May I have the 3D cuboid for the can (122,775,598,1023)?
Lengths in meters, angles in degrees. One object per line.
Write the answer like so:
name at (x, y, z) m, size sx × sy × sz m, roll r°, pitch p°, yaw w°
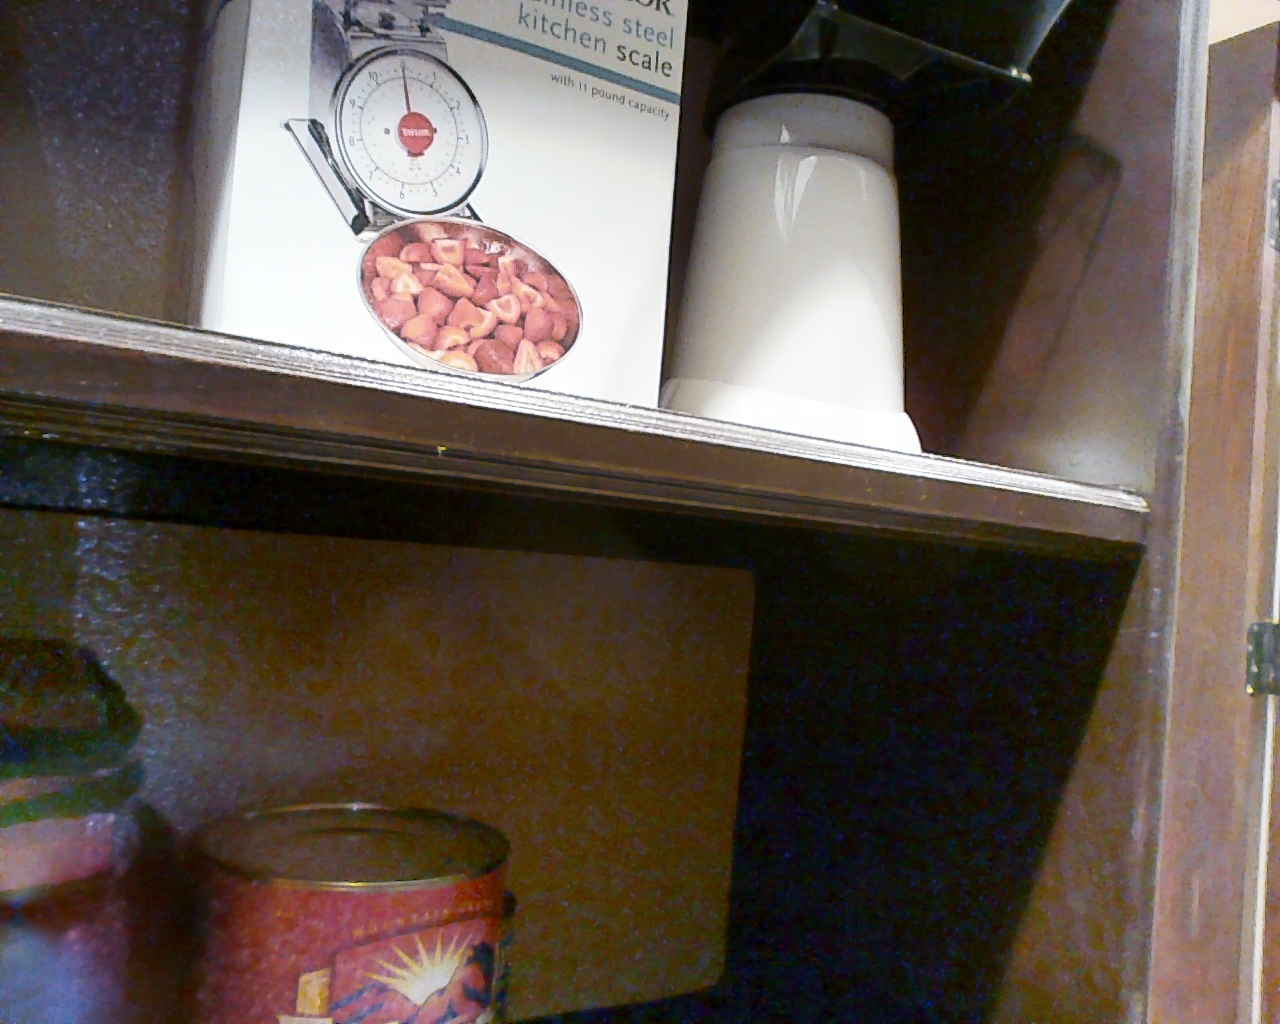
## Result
can at (-0.150, 0.240, 0.530) m, size 0.190 × 0.180 × 0.180 m, roll 6°, pitch -4°, yaw -24°
